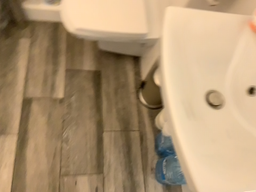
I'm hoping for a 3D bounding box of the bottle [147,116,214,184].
[{"bbox_3d":[0.250,0.310,1.150,0.160,0.390,0.290,1,67,-13],"label":"bottle"}]
